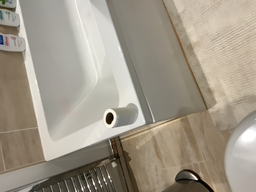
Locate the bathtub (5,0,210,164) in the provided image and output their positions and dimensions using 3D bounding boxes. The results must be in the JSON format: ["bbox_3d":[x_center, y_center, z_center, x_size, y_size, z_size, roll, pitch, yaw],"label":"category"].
[{"bbox_3d":[-0.260,-0.570,1.280,0.710,0.590,1.670,-28,75,36],"label":"bathtub"}]
